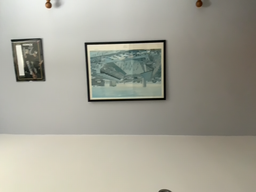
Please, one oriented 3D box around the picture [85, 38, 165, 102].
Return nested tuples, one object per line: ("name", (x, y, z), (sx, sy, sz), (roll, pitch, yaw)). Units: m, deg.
("picture", (-0.030, -0.260, 2.140), (0.770, 0.630, 0.070), (1, -169, 2))
